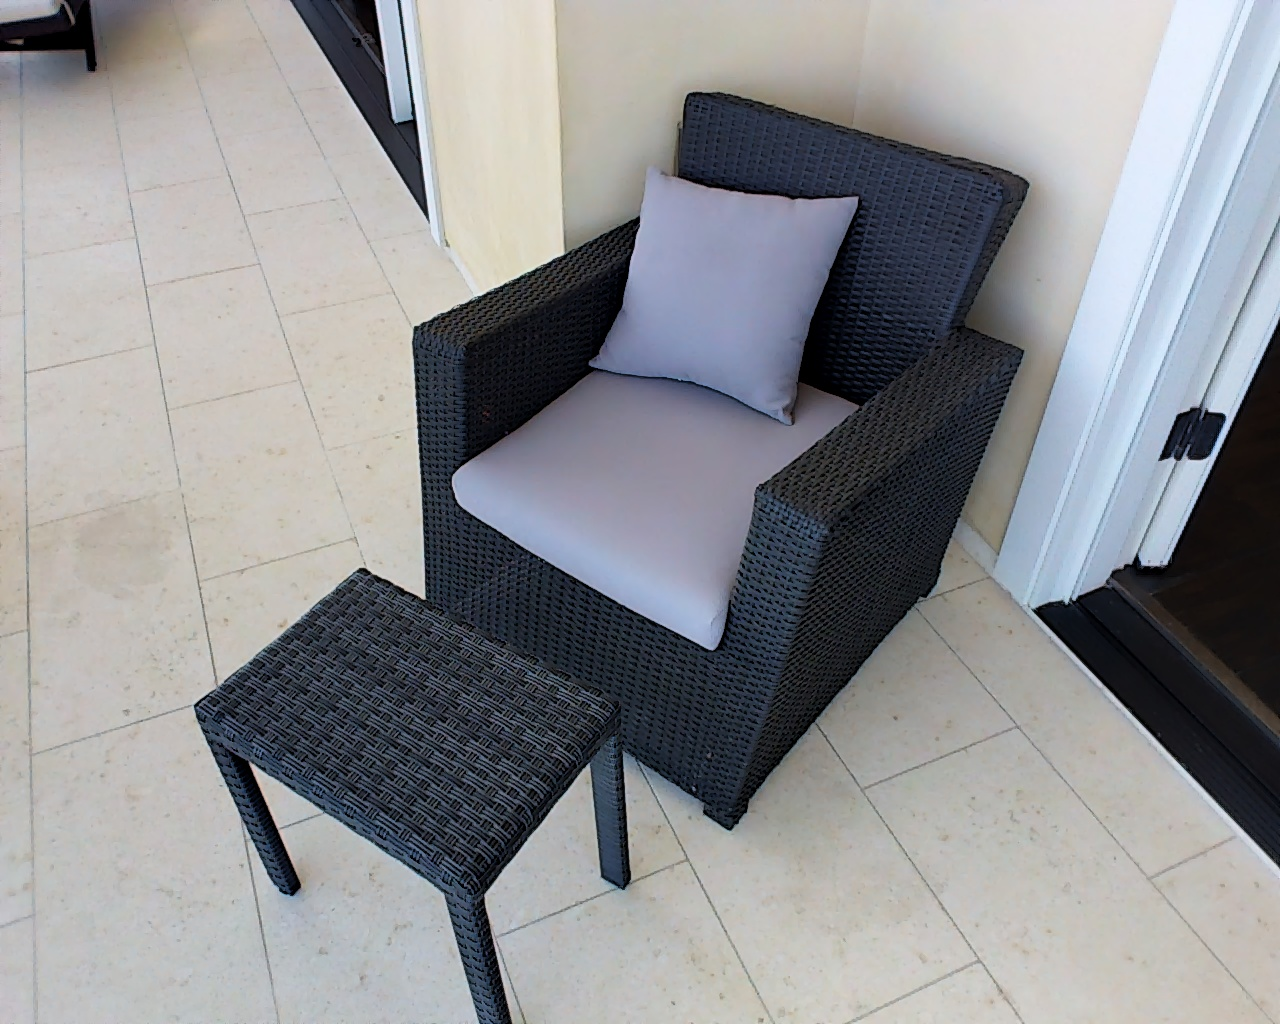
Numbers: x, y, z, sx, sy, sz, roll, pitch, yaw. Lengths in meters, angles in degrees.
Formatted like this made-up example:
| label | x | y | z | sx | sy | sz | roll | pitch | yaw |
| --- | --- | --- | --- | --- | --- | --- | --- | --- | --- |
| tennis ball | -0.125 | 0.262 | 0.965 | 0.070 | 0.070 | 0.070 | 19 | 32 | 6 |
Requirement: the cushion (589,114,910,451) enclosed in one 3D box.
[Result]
| label | x | y | z | sx | sy | sz | roll | pitch | yaw |
| --- | --- | --- | --- | --- | --- | --- | --- | --- | --- |
| cushion | 0.170 | -0.380 | 1.830 | 0.410 | 0.350 | 0.250 | 29 | 62 | 6 |
